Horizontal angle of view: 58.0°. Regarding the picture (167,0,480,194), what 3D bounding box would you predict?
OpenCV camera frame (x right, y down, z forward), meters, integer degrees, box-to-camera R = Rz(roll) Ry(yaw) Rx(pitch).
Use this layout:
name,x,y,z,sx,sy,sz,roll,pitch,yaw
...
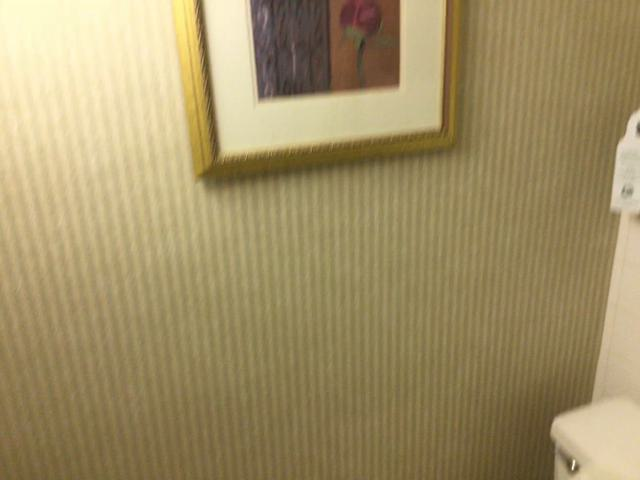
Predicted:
name,x,y,z,sx,sy,sz,roll,pitch,yaw
picture,0.020,-0.360,0.880,0.490,0.540,0.040,-7,19,-18
